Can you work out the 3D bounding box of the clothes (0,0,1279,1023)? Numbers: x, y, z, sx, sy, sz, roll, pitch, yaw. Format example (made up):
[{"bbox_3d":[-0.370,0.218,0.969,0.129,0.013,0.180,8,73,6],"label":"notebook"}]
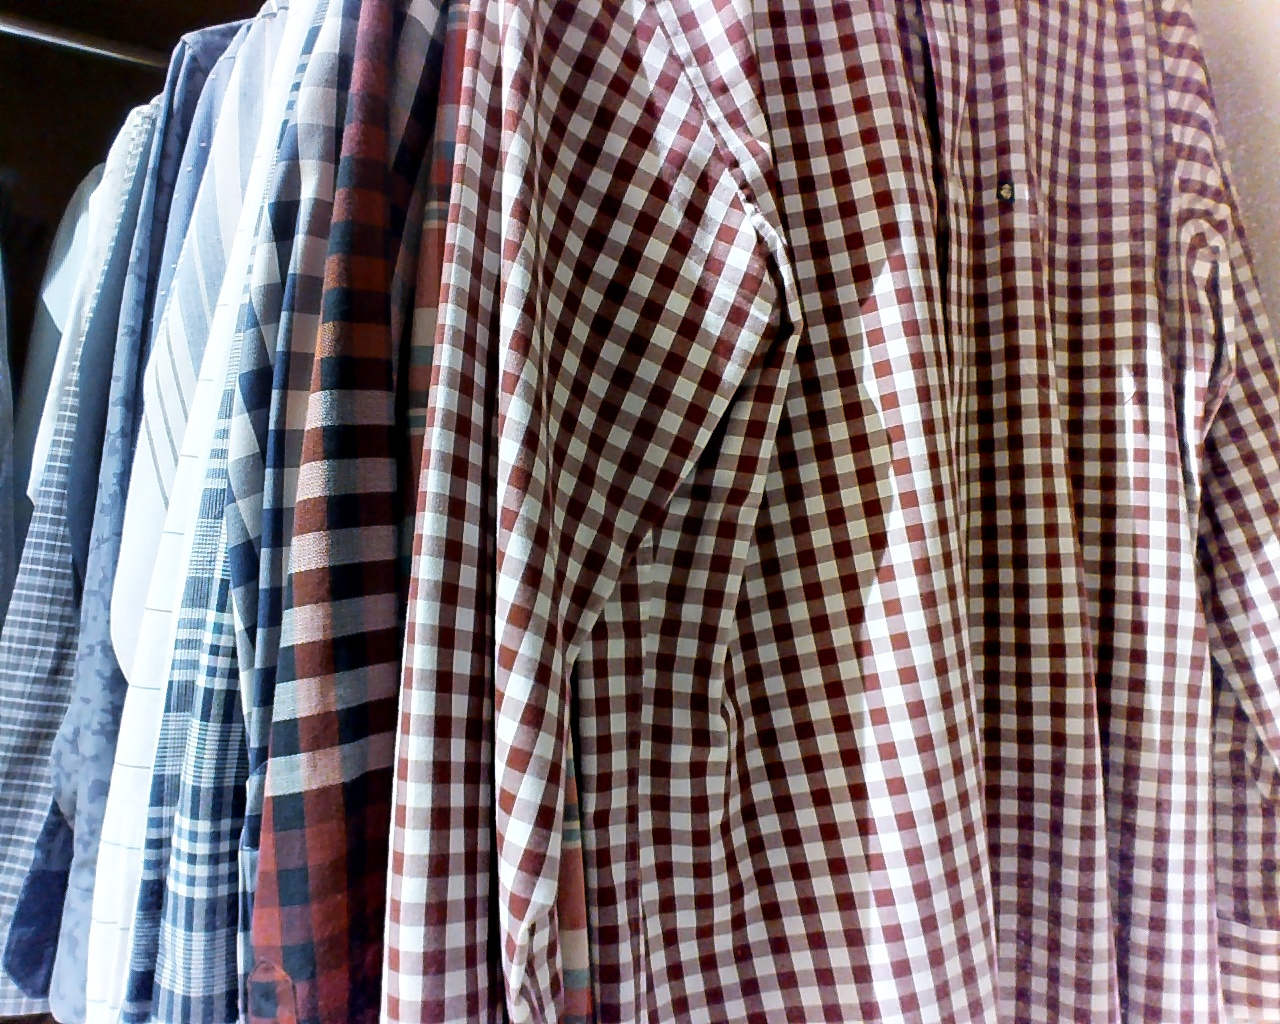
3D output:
[{"bbox_3d":[-0.160,-0.060,0.800,0.580,0.930,0.980,0,1,-39],"label":"clothes"}]
